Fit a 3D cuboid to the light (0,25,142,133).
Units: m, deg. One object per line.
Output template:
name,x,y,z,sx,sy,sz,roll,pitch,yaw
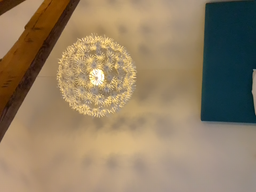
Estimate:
light,-0.840,-0.250,2.640,0.940,1.870,0.900,-70,-23,-56
